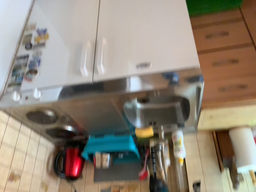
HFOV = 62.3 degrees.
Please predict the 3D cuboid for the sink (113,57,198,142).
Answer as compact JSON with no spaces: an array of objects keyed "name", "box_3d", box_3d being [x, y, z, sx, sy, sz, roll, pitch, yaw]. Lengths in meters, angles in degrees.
[{"name":"sink","box_3d":[0.160,0.050,1.230,0.390,0.270,0.450,-6,149,9]}]
